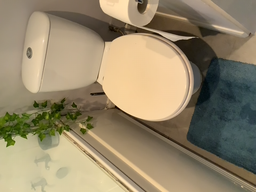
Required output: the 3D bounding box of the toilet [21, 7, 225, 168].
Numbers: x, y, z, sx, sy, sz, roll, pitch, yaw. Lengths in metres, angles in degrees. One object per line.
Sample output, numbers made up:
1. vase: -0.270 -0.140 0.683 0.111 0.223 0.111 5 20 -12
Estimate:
1. toilet: -0.020 -0.110 1.100 0.700 0.700 0.400 28 111 34
